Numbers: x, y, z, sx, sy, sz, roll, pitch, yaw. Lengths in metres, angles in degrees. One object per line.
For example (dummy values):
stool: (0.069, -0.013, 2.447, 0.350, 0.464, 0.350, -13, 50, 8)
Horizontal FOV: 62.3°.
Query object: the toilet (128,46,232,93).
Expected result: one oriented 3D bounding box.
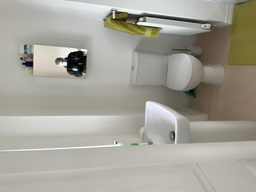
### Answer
toilet: (0.470, -0.270, 2.170, 0.690, 0.770, 0.370, -149, 62, -72)
